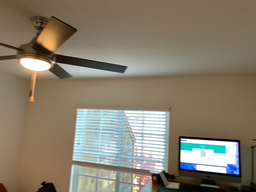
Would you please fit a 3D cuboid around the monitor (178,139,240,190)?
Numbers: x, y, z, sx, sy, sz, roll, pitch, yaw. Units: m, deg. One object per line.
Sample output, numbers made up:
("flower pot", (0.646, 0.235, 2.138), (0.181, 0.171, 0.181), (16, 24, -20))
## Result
("monitor", (0.880, 0.740, 2.360), (0.610, 0.510, 0.050), (-3, -14, 19))
